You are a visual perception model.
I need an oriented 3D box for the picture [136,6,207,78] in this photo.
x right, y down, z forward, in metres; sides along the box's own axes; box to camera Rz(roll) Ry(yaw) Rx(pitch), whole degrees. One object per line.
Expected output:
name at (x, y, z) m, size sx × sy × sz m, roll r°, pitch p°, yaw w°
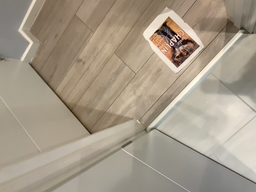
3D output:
picture at (0.220, -0.280, 1.120) m, size 0.230 × 0.050 × 0.290 m, roll -47°, pitch 74°, yaw 20°
